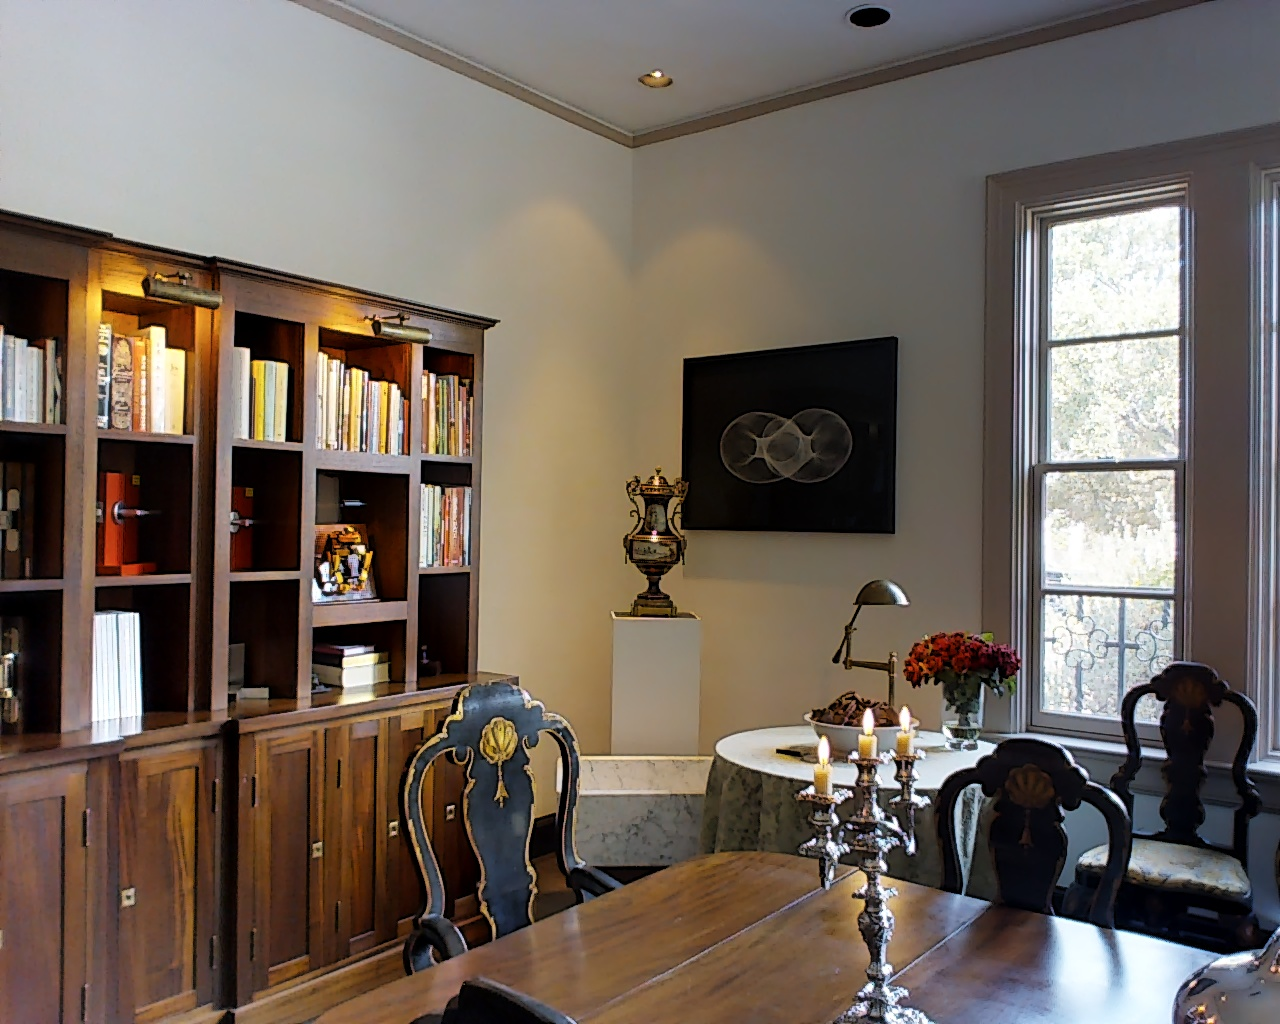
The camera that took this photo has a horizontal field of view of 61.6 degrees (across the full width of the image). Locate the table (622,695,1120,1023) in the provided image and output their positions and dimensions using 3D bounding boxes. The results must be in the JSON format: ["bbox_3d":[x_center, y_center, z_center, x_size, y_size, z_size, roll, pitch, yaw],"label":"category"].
[{"bbox_3d":[0.790,1.140,3.590,1.210,0.770,1.190,1,0,39],"label":"table"}]

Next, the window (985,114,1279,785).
[{"bbox_3d":[2.540,-0.200,3.270,2.920,2.180,0.230,1,0,38],"label":"window"}]
